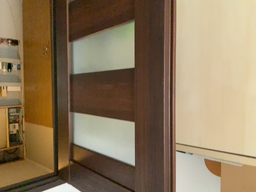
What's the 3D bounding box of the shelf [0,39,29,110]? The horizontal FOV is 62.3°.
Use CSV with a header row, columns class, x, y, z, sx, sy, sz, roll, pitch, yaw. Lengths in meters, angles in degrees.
class,x,y,z,sx,sy,sz,roll,pitch,yaw
shelf,-1.720,-0.300,3.070,0.500,0.980,0.120,-2,-177,-42
